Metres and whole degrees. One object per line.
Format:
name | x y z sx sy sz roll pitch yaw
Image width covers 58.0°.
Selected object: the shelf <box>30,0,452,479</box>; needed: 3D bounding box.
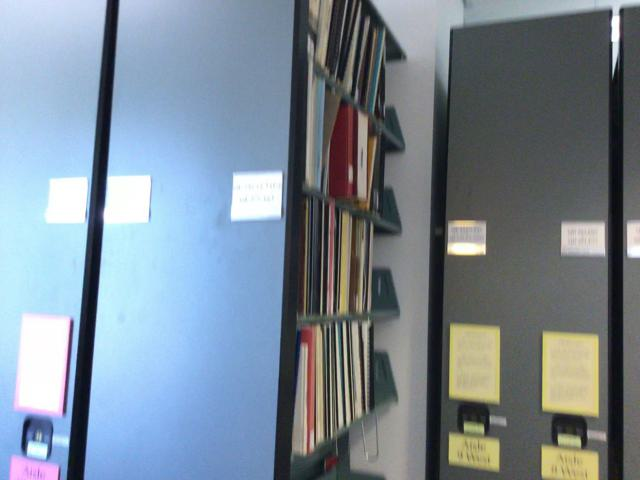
shelf | -0.120 0.440 1.720 0.800 2.550 1.040 -4 -9 23
